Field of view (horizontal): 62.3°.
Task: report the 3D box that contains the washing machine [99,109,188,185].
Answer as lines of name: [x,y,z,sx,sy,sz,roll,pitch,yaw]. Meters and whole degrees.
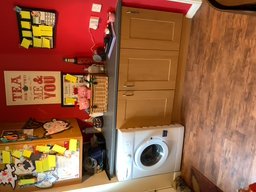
washing machine: [0.160,0.600,2.800,0.710,0.920,0.640,-148,59,-65]

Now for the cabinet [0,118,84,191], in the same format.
cabinet: [-1.090,0.650,2.390,0.580,1.070,0.580,-148,59,-65]
